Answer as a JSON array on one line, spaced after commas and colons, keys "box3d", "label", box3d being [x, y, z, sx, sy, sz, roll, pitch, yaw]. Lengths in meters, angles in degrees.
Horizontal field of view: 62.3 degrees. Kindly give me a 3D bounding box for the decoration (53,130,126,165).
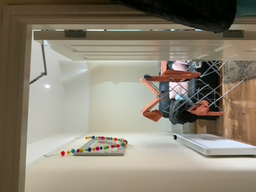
[{"box3d": [-0.440, 0.680, 3.070, 1.520, 0.790, 0.230, 113, 158, -86], "label": "decoration"}]
